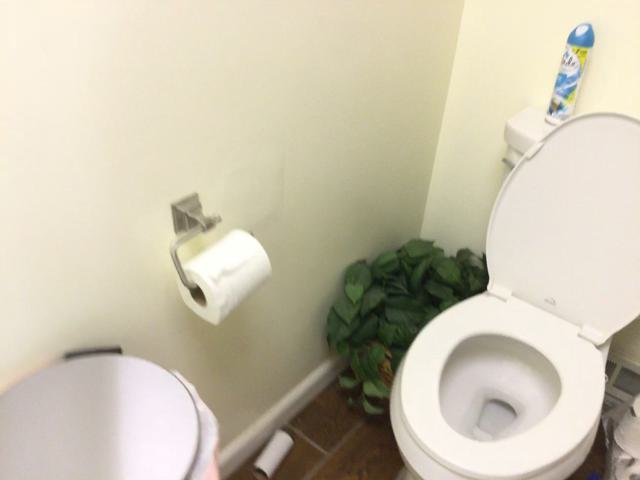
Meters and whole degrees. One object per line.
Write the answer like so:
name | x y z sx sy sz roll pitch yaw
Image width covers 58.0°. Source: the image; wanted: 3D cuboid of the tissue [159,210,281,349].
tissue | -0.160 0.060 0.950 0.130 0.140 0.140 27 40 31

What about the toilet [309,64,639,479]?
toilet | 0.420 0.200 1.190 0.500 0.870 0.730 27 40 31
